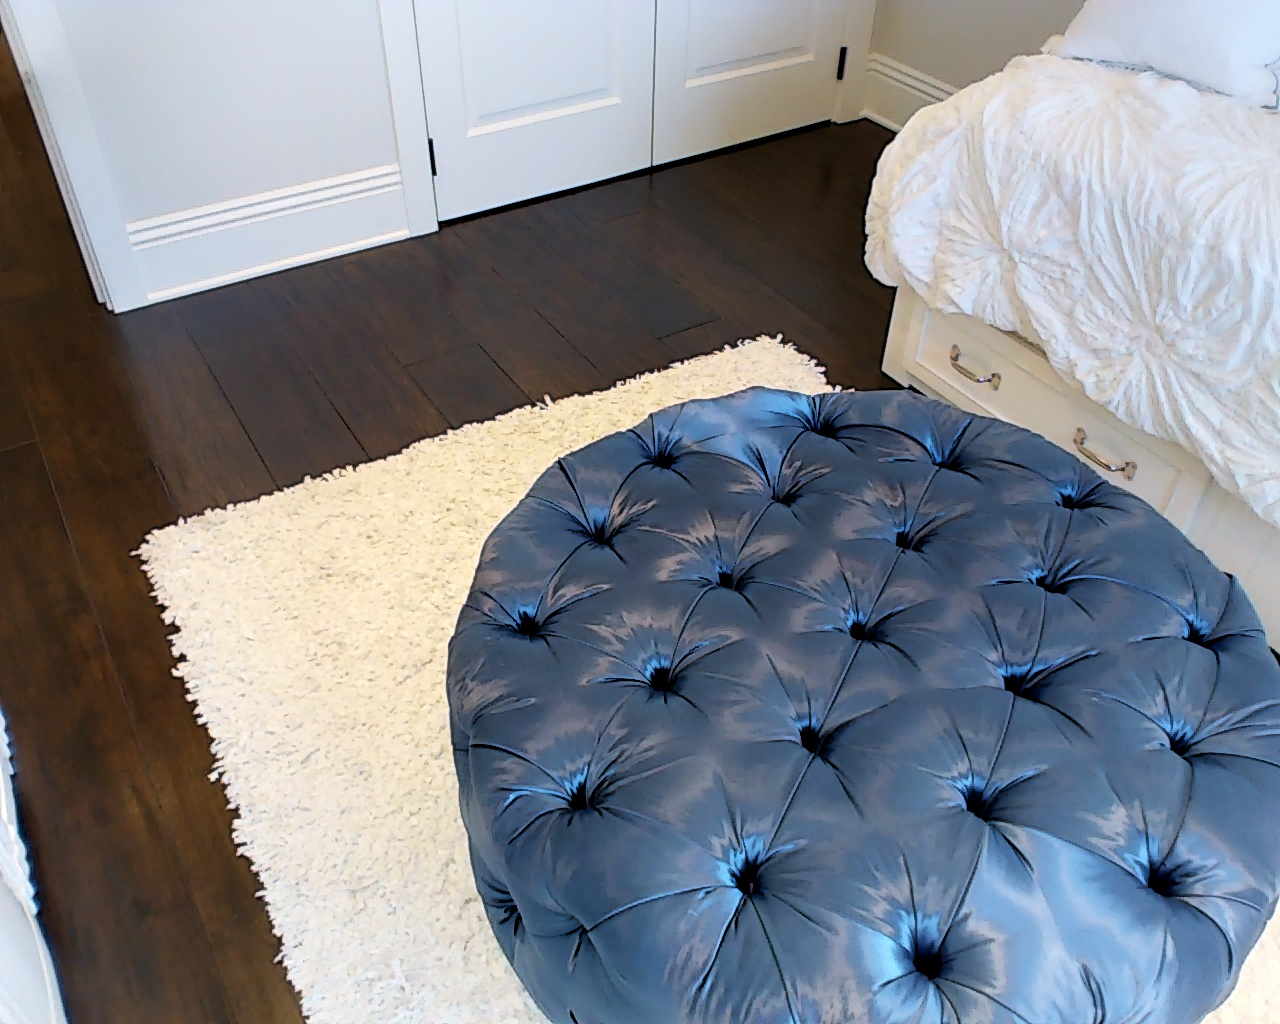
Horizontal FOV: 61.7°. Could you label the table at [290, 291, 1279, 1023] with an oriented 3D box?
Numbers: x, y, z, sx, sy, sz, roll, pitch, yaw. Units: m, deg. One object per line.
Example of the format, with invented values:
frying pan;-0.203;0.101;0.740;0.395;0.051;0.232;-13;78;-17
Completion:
table;0.310;0.320;1.550;1.200;0.520;1.190;-20;46;-22
